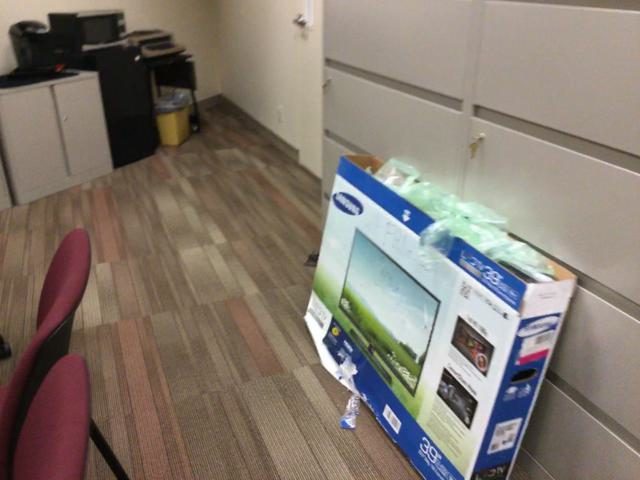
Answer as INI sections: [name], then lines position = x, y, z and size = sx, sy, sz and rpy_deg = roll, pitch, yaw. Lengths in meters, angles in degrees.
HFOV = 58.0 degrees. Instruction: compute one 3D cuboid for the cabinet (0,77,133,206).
[cabinet]
position = -1.590, -0.640, 3.610
size = 0.350, 0.660, 0.650
rpy_deg = 16, 26, 35
